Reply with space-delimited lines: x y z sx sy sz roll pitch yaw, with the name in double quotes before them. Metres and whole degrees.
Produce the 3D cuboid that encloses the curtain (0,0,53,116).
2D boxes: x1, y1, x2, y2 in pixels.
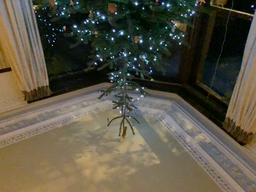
"curtain" -1.460 -1.310 2.360 0.630 3.390 0.590 -3 -146 -9
